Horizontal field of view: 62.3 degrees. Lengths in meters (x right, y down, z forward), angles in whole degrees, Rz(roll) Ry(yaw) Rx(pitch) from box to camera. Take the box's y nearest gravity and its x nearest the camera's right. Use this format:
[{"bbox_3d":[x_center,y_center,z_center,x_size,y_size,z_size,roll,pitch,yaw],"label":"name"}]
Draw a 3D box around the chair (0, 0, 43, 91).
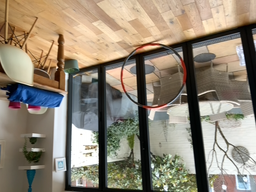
[{"bbox_3d":[-1.210,-0.500,2.170,0.470,0.790,0.380,-9,166,26],"label":"chair"}]
